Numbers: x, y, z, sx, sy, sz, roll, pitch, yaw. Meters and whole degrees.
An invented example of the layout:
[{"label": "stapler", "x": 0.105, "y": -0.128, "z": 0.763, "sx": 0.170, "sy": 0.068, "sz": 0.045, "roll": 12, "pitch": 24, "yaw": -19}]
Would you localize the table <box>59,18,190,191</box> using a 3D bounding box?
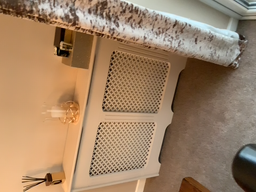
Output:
[{"label": "table", "x": 0.010, "y": 0.130, "z": 1.730, "sx": 0.120, "sy": 0.940, "sz": 1.230, "roll": 23, "pitch": 105, "yaw": 53}]
